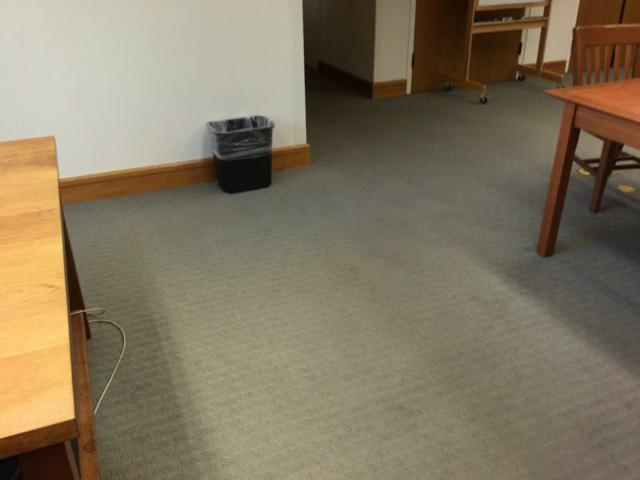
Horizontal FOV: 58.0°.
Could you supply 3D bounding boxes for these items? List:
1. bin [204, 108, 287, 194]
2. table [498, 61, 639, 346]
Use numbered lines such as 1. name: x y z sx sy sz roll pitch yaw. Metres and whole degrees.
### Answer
1. bin: -0.430 -0.520 3.350 0.370 0.360 0.270 -16 32 -21
2. table: 1.870 -0.290 2.390 1.870 0.770 1.060 -16 32 -21
